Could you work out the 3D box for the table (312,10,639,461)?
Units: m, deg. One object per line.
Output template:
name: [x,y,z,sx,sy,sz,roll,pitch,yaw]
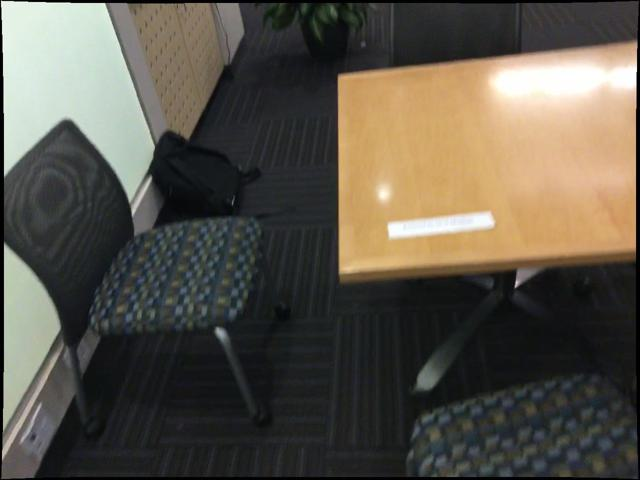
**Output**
table: [0.509,-0.030,1.610,0.938,0.711,0.901,-8,42,6]
